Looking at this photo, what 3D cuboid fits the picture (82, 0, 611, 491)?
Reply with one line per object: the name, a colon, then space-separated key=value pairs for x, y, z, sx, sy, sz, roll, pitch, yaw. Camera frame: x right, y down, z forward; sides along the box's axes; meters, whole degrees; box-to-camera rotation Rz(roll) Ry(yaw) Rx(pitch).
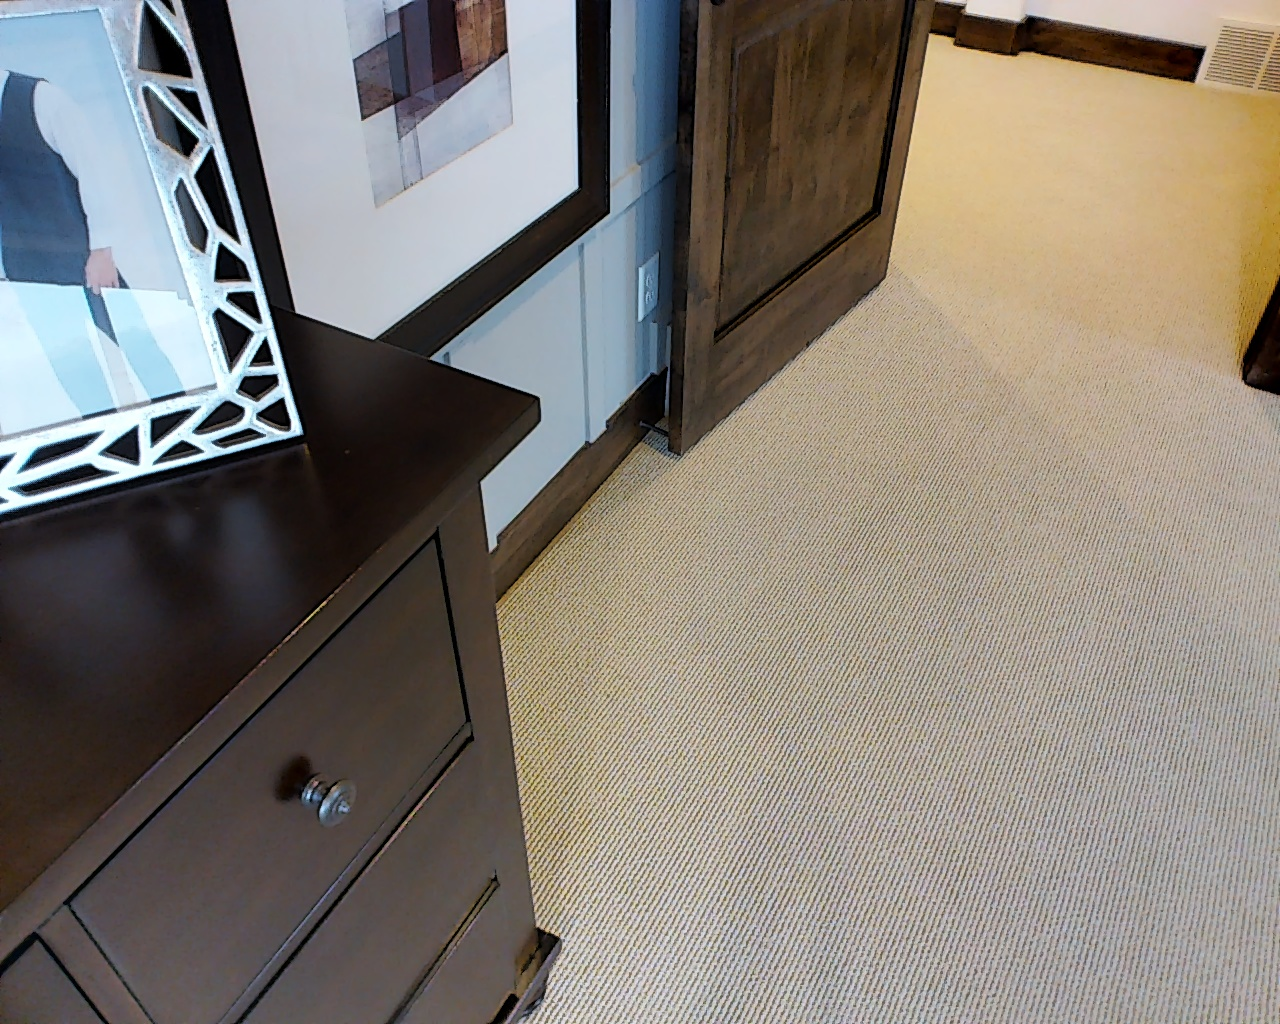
picture: x=-0.270 y=-0.560 z=1.280 sx=0.080 sy=0.790 sz=0.780 roll=20 pitch=46 yaw=21
